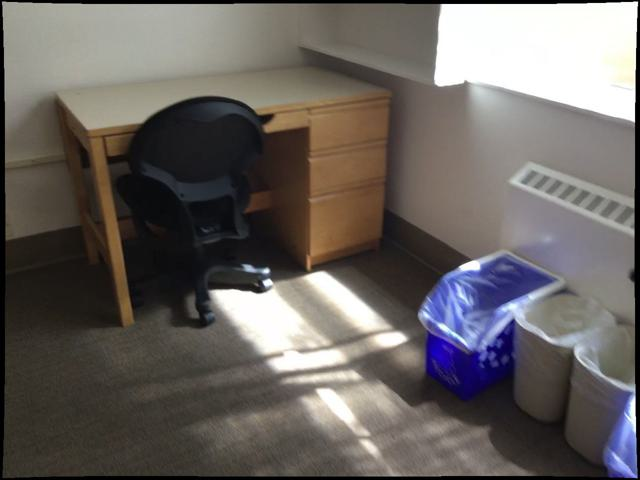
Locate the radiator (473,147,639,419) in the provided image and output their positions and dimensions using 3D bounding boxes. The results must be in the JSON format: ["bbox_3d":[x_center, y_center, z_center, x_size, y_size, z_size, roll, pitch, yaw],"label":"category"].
[{"bbox_3d":[0.939,0.180,1.730,0.160,0.610,1.060,-16,32,-28],"label":"radiator"}]
